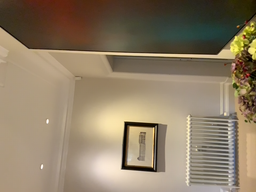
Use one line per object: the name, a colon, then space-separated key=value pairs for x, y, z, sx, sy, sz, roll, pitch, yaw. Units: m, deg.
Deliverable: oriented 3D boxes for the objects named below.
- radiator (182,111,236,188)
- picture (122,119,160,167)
radiator: x=1.290 y=0.830 z=3.400 sx=0.180 sy=0.780 sz=1.120 roll=66 pitch=-153 yaw=-82
picture: x=0.220 y=0.790 z=3.580 sx=0.050 sy=0.610 sz=0.750 roll=71 pitch=-158 yaw=-81
